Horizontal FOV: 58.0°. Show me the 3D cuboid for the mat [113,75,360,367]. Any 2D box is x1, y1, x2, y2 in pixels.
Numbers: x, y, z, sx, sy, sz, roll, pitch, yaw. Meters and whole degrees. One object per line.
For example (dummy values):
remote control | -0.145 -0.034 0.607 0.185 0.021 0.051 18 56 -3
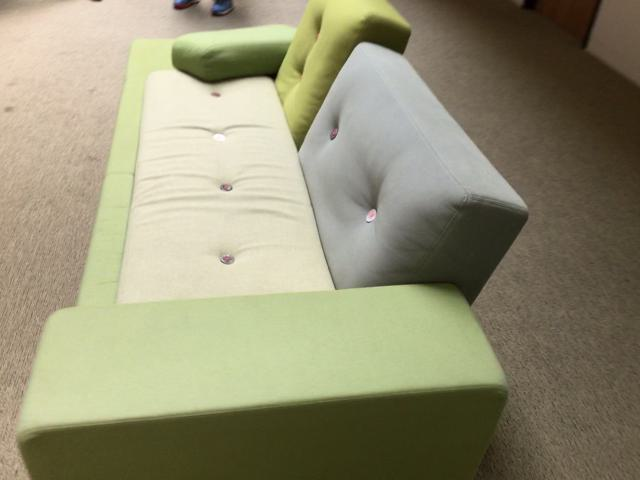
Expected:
mat | -0.290 -0.200 1.720 0.490 0.080 1.380 -4 37 -11
